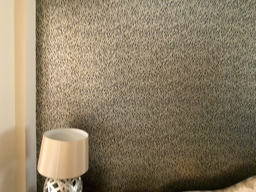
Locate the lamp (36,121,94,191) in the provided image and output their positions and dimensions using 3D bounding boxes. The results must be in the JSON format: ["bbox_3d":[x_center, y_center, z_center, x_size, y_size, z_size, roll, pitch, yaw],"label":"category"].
[{"bbox_3d":[-0.500,0.570,1.710,0.370,0.620,0.500,1,8,-15],"label":"lamp"}]
